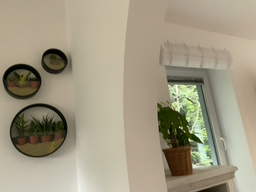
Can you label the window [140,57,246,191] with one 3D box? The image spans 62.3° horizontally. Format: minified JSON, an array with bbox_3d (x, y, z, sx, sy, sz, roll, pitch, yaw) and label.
[{"bbox_3d":[0.670,0.390,2.150,0.920,1.510,0.210,0,-15,-30],"label":"window"}]
